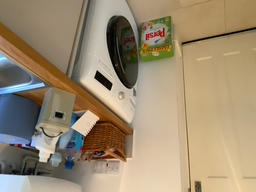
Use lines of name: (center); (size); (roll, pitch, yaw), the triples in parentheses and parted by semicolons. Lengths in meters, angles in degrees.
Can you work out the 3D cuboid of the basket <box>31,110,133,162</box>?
basket: (-0.270, 0.280, 1.370); (0.490, 0.220, 0.370); (-7, 152, 21)
